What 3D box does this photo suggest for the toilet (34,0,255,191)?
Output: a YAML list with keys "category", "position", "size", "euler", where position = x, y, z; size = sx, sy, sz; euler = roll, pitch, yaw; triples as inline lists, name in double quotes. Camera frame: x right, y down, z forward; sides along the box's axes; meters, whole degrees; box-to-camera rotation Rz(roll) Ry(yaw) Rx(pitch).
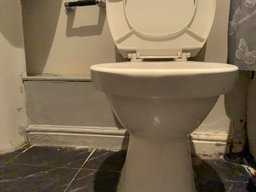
- category: "toilet"
  position: [0.110, -0.140, 0.680]
  size: [0.450, 0.790, 0.680]
  euler: [1, 12, 8]
